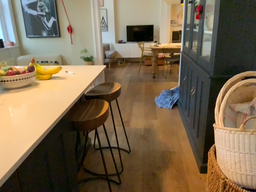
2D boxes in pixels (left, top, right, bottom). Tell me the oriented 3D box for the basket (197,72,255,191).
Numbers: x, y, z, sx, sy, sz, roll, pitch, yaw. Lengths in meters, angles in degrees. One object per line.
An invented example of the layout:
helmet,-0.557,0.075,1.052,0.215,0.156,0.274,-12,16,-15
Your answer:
basket,0.790,0.360,1.470,0.410,0.940,0.580,0,19,5
